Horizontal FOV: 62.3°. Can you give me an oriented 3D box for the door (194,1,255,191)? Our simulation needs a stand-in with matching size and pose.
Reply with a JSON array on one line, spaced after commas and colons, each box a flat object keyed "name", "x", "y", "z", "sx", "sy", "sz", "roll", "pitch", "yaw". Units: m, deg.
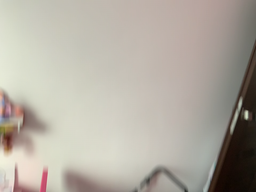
[{"name": "door", "x": 1.050, "y": 0.200, "z": 1.730, "sx": 0.890, "sy": 2.270, "sz": 0.090, "roll": 0, "pitch": 20, "yaw": -31}]
